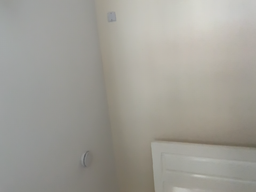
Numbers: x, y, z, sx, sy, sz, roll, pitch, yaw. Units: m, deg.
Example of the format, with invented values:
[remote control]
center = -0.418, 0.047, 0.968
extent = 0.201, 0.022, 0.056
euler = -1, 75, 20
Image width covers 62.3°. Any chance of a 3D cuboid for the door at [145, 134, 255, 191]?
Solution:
[door]
center = 1.130, 0.790, 1.910
extent = 0.120, 1.950, 0.760
euler = -34, -59, -64
